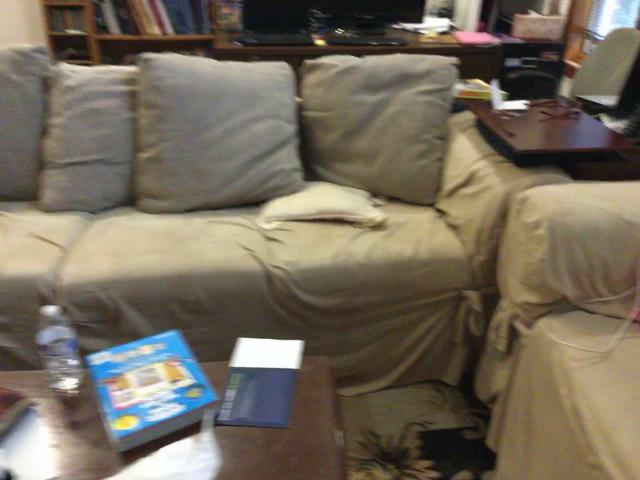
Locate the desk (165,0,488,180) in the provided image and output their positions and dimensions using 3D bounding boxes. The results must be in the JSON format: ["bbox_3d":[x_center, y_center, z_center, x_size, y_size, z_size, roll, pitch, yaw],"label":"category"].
[{"bbox_3d":[-0.010,-0.870,3.260,1.570,0.860,0.680,-1,28,-9],"label":"desk"}]

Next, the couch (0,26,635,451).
[{"bbox_3d":[-0.500,-0.090,1.840,2.330,0.950,0.990,-1,28,-9],"label":"couch"}]

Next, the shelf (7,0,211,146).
[{"bbox_3d":[-1.140,-1.310,3.200,1.010,1.540,0.310,-1,28,-9],"label":"shelf"}]
